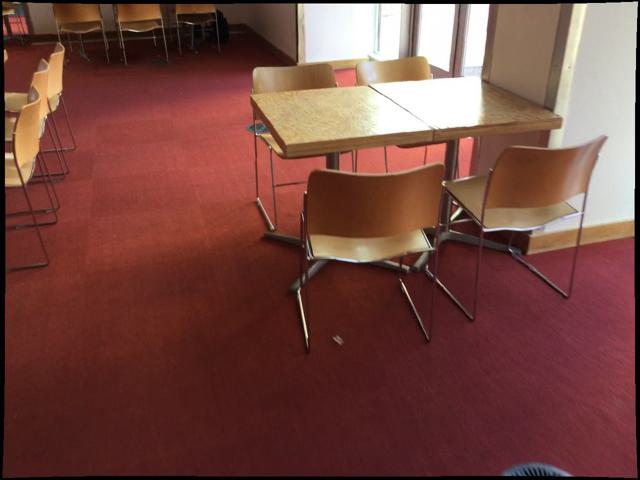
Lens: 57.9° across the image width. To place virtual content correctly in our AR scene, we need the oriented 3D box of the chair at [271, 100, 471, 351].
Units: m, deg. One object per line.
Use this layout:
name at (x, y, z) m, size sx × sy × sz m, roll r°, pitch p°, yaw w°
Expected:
chair at (0.170, -0.080, 2.210) m, size 0.540 × 0.691 × 0.560 m, roll -11°, pitch 32°, yaw -12°

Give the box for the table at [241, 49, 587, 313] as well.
table at (0.390, -0.350, 2.790) m, size 1.299 × 0.771 × 0.830 m, roll -13°, pitch 32°, yaw -14°

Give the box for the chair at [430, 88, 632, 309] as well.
chair at (0.819, -0.190, 2.400) m, size 0.520 × 0.680 × 0.500 m, roll -13°, pitch 32°, yaw -14°
